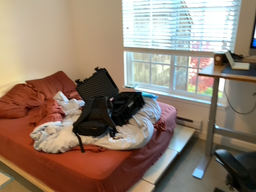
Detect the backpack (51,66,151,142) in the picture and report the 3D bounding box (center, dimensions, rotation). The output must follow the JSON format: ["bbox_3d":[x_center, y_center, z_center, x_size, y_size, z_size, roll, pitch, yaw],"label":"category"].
[{"bbox_3d":[-0.190,0.020,2.170,0.790,0.450,0.910,0,21,3],"label":"backpack"}]

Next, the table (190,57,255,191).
[{"bbox_3d":[1.350,0.310,1.930,1.240,1.080,0.780,13,25,33],"label":"table"}]

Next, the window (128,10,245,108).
[{"bbox_3d":[0.650,-0.540,2.930,1.530,1.170,0.040,13,25,33],"label":"window"}]
